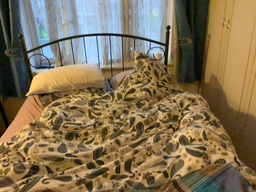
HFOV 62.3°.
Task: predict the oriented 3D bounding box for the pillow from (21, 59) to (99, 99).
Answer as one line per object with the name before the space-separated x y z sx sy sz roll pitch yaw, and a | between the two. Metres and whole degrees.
pillow | -0.610 -0.180 2.040 0.630 0.210 0.420 -5 24 -6
